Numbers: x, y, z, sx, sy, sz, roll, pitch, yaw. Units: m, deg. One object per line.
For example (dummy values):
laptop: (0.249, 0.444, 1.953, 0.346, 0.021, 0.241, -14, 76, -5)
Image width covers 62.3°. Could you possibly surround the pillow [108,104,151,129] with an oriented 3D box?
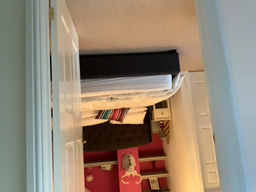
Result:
pillow: (0.010, 0.420, 4.270, 0.770, 0.550, 0.200, 0, -131, -12)
